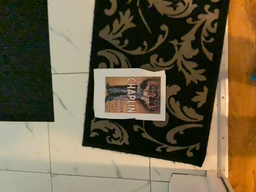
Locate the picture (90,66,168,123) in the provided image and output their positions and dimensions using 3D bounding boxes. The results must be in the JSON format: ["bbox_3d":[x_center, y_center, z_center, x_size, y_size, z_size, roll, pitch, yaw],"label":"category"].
[{"bbox_3d":[0.000,-0.010,0.850,0.300,0.040,0.210,3,95,11],"label":"picture"}]
